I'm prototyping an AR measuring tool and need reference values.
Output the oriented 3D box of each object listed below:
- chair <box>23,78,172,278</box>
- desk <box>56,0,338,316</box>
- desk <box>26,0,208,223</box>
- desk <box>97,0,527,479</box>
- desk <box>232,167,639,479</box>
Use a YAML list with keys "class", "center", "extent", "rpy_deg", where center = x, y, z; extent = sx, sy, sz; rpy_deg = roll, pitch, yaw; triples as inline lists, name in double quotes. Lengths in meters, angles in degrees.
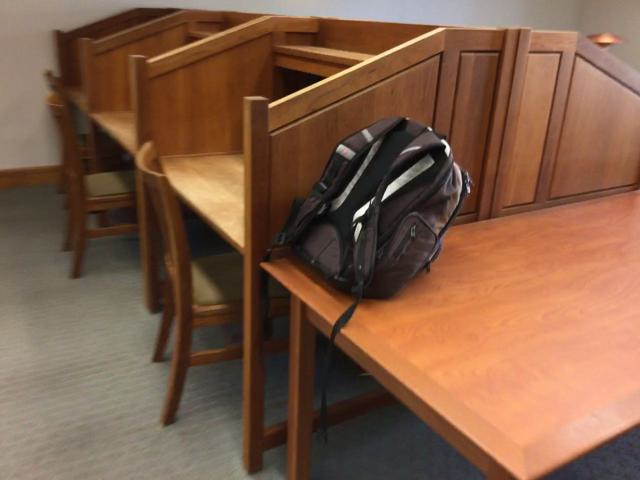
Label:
- class: "chair"
  center: [-1.220, -0.380, 3.200]
  extent: [0.600, 0.920, 0.610]
  rpy_deg: [-9, 25, -32]
- class: "desk"
  center: [-0.760, -0.610, 3.230]
  extent: [0.980, 1.420, 1.390]
  rpy_deg: [-9, 25, -32]
- class: "desk"
  center: [-1.400, -0.980, 3.970]
  extent: [0.860, 1.350, 1.110]
  rpy_deg: [-9, 25, -32]
- class: "desk"
  center: [-0.170, -0.190, 2.320]
  extent: [1.010, 1.400, 1.290]
  rpy_deg: [-9, 25, -32]
- class: "desk"
  center: [0.770, 0.390, 1.750]
  extent: [1.750, 0.880, 1.140]
  rpy_deg: [-6, 24, -27]
